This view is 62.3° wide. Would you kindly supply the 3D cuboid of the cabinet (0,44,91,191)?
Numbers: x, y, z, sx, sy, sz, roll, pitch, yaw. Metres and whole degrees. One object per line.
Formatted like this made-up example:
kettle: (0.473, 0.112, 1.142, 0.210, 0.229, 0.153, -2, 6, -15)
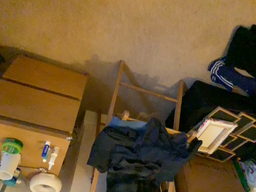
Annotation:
cabinet: (-0.530, 0.150, 1.250, 0.410, 0.540, 0.610, 16, 130, -13)
